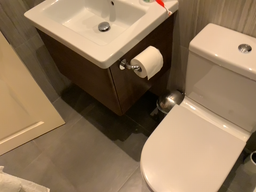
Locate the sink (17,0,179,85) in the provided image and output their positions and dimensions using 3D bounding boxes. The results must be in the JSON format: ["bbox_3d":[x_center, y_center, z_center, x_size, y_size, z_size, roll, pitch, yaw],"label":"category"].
[{"bbox_3d":[-0.160,-0.400,1.090,0.660,0.140,0.480,32,64,28],"label":"sink"}]
